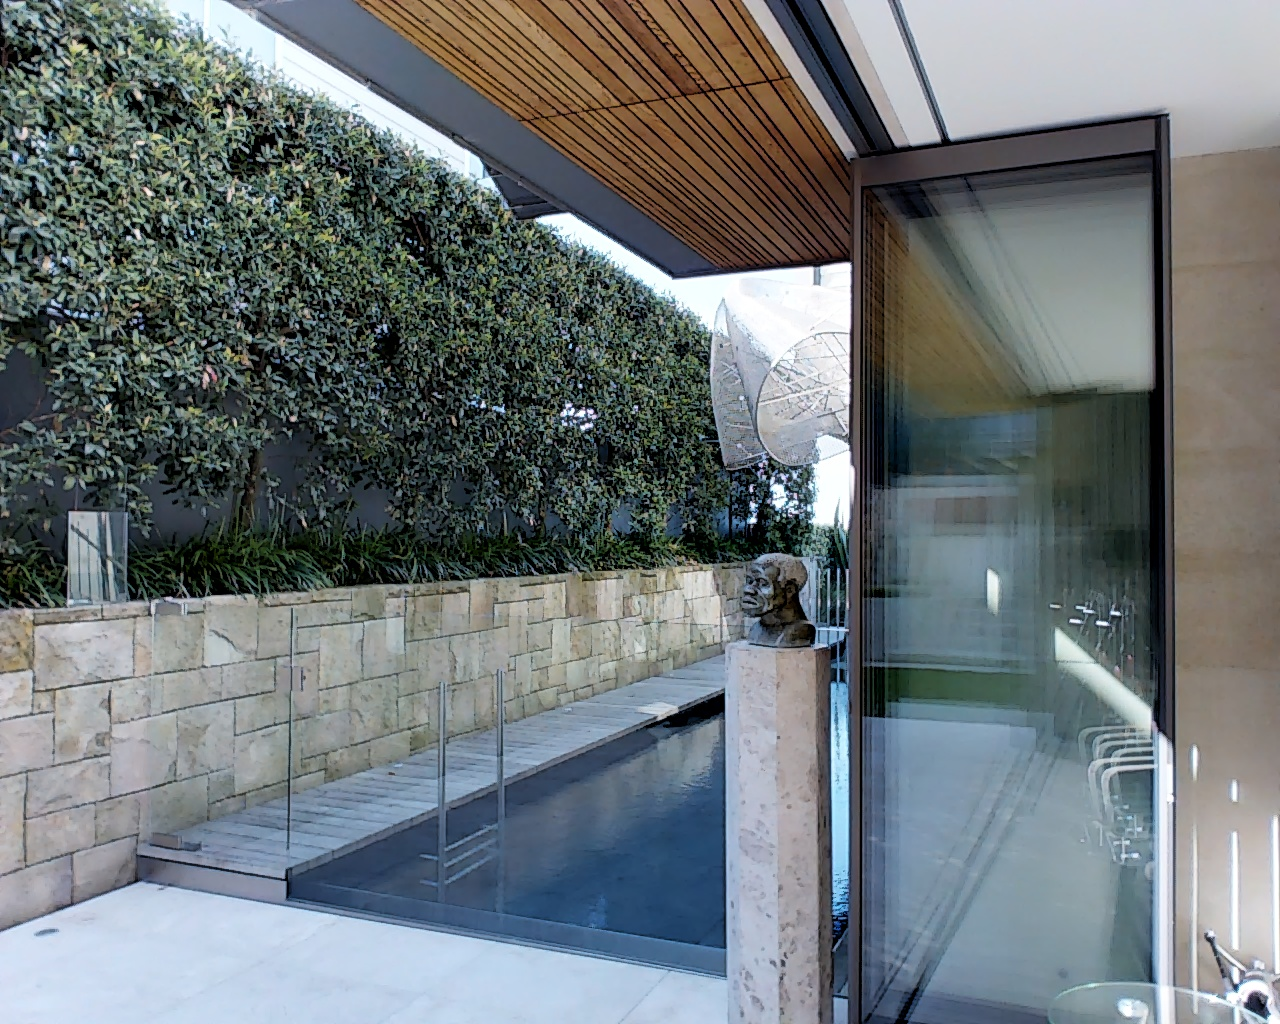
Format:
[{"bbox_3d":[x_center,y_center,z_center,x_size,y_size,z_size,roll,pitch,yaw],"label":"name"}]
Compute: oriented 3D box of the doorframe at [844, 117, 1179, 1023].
[{"bbox_3d":[1.040,0.170,3.070,0.870,2.441,0.200,-1,-2,23],"label":"doorframe"}]
